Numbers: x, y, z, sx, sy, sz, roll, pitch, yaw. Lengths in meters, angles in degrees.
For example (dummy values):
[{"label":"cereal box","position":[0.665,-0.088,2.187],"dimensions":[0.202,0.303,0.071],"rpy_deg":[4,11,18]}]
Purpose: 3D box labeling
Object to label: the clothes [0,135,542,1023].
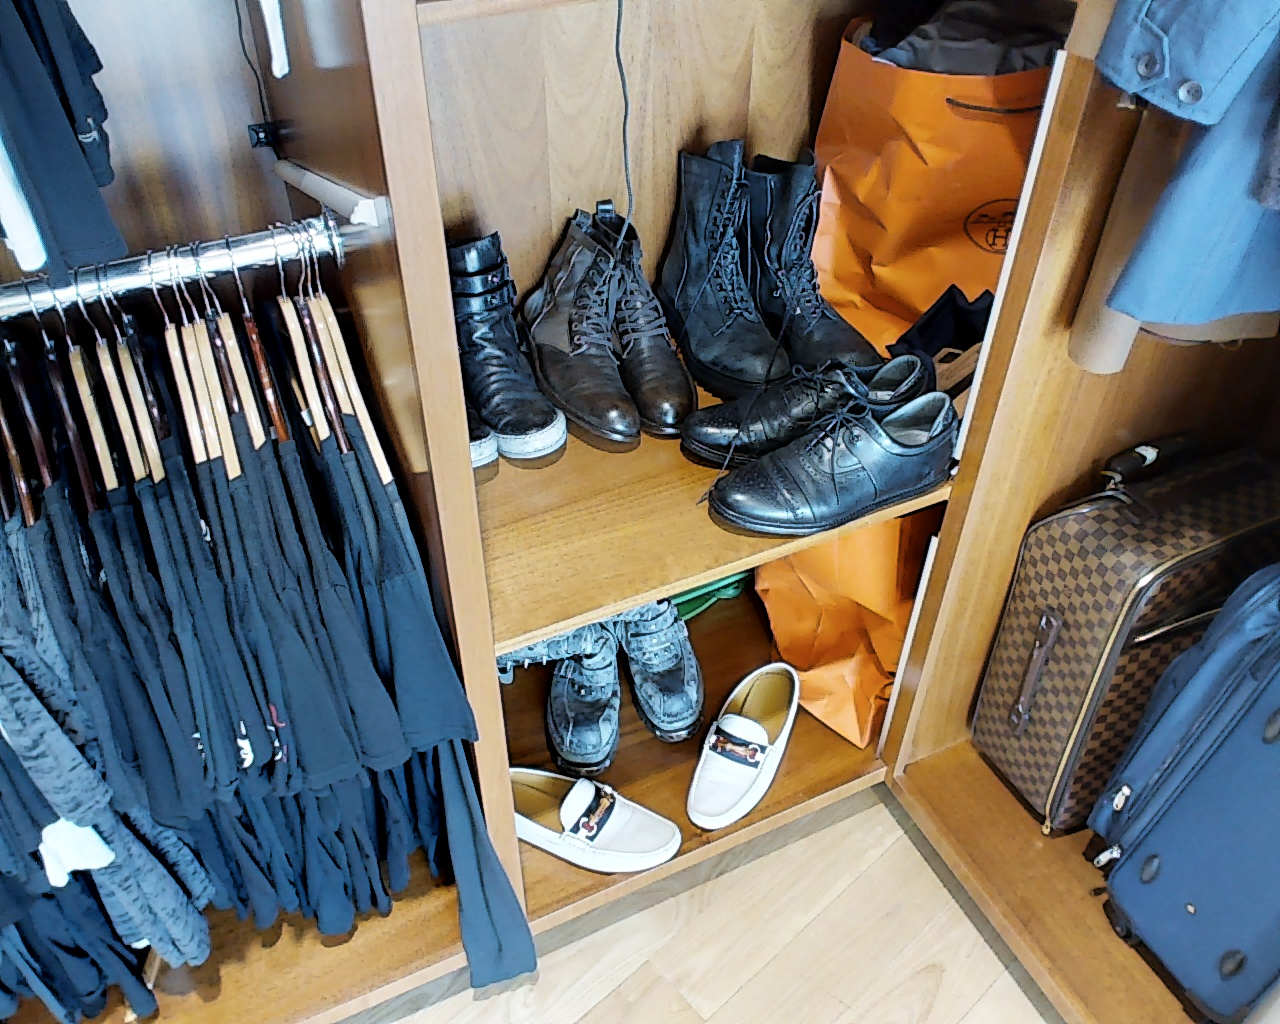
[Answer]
[{"label":"clothes","position":[-0.780,0.230,1.270],"dimensions":[1.130,0.950,0.590],"rpy_deg":[-18,45,-19]}]
